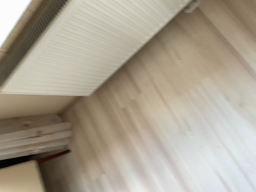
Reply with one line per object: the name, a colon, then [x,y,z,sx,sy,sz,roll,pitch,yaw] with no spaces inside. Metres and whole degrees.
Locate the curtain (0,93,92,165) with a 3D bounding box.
curtain: [-1.140,0.190,0.610,0.310,2.680,0.320,-37,71,24]

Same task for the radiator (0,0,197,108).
radiator: [-0.150,-0.280,1.090,0.930,0.690,0.150,-41,70,23]
